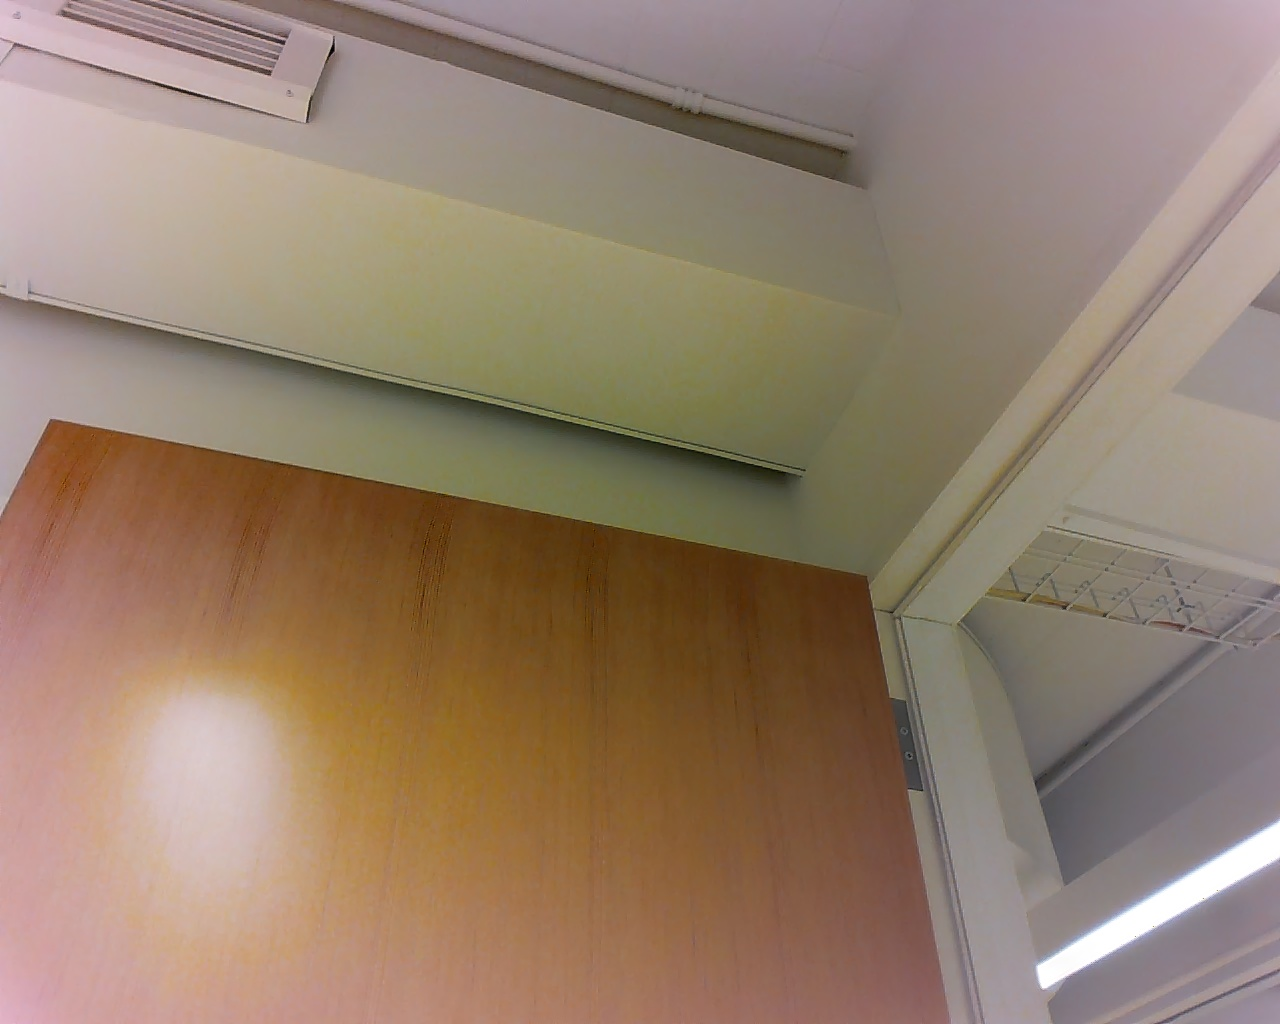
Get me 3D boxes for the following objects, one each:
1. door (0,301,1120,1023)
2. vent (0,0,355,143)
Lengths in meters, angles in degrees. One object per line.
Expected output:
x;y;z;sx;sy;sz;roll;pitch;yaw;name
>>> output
-0.100;0.781;0.500;1.129;2.341;0.050;12;-43;-14;door
-0.550;-0.580;1.290;0.360;0.260;0.040;12;-43;-14;vent
